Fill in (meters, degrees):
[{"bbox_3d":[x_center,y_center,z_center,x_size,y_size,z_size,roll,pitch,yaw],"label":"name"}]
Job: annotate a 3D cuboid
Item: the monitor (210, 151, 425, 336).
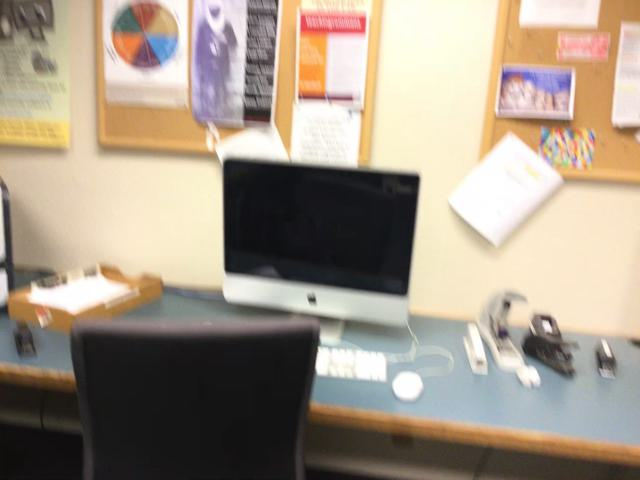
[{"bbox_3d":[-0.010,0.000,1.660,0.570,0.460,0.160,5,12,7],"label":"monitor"}]
